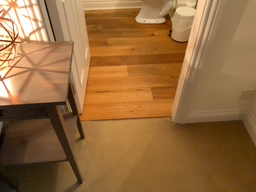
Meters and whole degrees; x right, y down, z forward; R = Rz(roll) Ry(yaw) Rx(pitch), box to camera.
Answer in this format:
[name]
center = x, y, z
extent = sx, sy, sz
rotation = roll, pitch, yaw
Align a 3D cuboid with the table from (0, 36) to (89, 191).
[table]
center = -0.470, 0.130, 1.030
extent = 0.450, 0.720, 0.370
rotation = -2, 47, -3
